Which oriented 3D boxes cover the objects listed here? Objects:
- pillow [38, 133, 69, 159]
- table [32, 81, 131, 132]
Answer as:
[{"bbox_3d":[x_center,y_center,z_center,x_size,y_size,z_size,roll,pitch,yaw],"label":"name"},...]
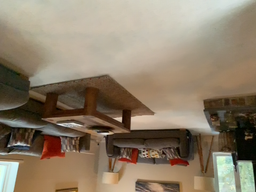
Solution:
[{"bbox_3d":[-1.480,0.980,4.220,0.350,0.390,0.450,-5,178,23],"label":"pillow"},{"bbox_3d":[-0.590,0.230,3.130,0.830,0.380,1.230,-6,160,24],"label":"table"}]
